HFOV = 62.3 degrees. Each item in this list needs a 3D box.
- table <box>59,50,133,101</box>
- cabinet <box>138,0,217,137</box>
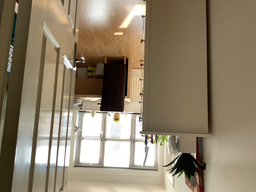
[{"bbox_3d":[-0.560,-0.360,4.060,1.250,0.820,0.660,2,172,3],"label":"table"},{"bbox_3d":[0.390,-0.290,2.080,0.530,1.290,1.020,2,172,1],"label":"cabinet"}]
